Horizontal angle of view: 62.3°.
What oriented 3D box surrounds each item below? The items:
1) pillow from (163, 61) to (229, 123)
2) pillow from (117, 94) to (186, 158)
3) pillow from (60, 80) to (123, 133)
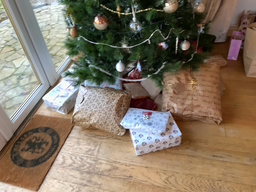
[{"bbox_3d":[0.500,-0.030,1.690,0.410,0.320,0.360,-2,43,6],"label":"pillow"},{"bbox_3d":[0.160,0.210,1.570,0.390,0.180,0.350,-14,43,-8],"label":"pillow"},{"bbox_3d":[-0.260,0.090,1.650,0.370,0.330,0.230,9,61,11],"label":"pillow"}]
